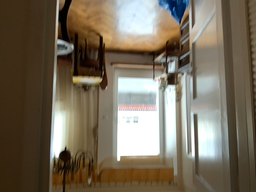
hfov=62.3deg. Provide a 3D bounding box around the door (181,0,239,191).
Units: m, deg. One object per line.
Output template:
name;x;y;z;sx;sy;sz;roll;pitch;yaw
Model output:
door;0.510;-0.210;1.500;0.160;1.820;0.870;0;174;8

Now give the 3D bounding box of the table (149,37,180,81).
table;0.700;-0.710;4.240;0.350;0.690;0.660;3;172;-16

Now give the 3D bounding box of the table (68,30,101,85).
table;-0.810;-0.670;4.010;0.520;0.770;0.900;2;175;-11
